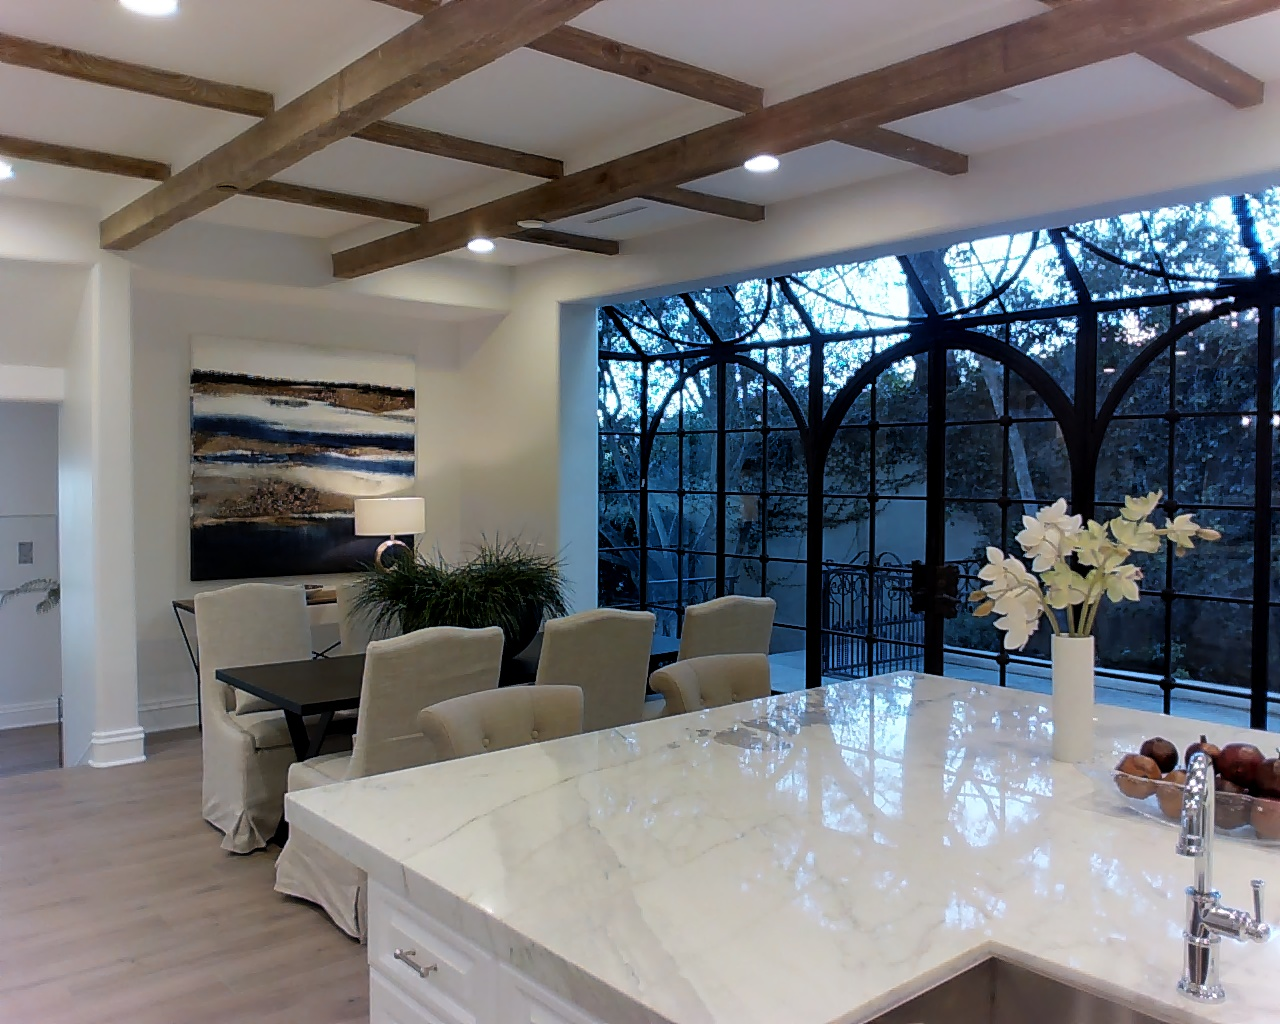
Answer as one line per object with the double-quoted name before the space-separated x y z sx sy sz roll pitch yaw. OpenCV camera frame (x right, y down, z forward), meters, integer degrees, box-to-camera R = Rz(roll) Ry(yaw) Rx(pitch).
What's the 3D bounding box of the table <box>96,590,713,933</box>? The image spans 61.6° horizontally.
"table" -1.500 1.130 6.180 2.230 0.960 3.190 -1 2 -40
